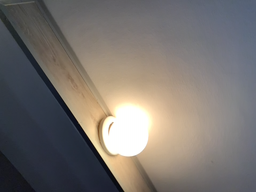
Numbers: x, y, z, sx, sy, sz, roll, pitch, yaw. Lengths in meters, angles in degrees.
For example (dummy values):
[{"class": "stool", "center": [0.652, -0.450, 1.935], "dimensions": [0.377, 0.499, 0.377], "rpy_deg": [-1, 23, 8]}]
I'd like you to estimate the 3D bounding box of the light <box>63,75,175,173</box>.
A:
[{"class": "light", "center": [-0.030, 0.110, 0.880], "dimensions": [0.190, 0.390, 0.280], "rpy_deg": [-69, 167, -56]}]
